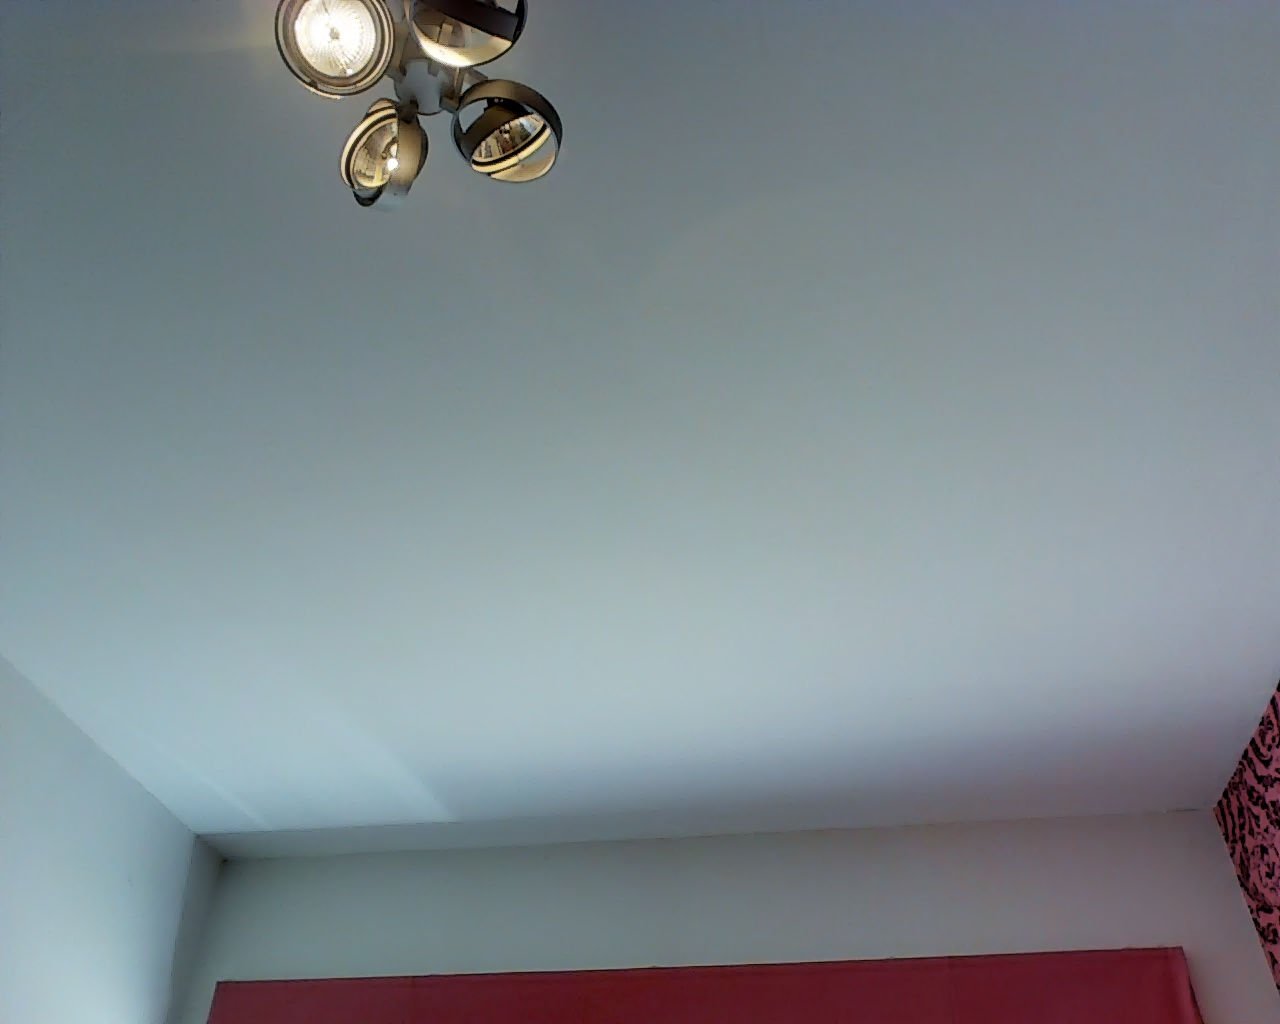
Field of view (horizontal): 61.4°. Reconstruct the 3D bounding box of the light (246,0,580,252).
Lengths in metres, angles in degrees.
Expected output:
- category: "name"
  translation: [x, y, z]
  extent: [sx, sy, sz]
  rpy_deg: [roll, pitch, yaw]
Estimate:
- category: "light"
  translation: [-0.260, -0.520, 1.310]
  extent: [0.300, 0.320, 0.210]
  rpy_deg: [-5, 27, 8]
